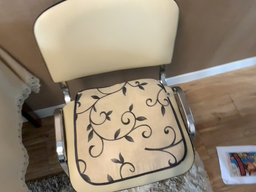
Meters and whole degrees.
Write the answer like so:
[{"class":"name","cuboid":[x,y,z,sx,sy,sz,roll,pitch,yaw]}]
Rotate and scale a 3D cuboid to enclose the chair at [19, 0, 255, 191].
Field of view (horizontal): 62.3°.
[{"class":"chair","cuboid":[-0.020,0.070,0.910,0.500,0.810,0.560,-13,67,-9]}]
